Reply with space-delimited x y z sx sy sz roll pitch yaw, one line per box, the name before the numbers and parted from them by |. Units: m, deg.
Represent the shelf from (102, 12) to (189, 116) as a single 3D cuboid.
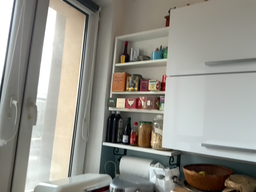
shelf | 0.110 -0.190 1.450 0.520 0.600 0.190 1 -7 36
